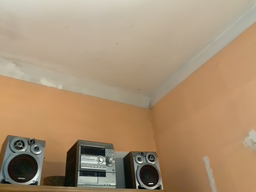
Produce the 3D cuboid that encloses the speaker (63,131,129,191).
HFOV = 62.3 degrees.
[{"bbox_3d":[-0.240,0.490,1.520,0.320,0.320,0.370,15,-38,-29],"label":"speaker"}]

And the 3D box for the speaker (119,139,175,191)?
[{"bbox_3d":[0.140,0.590,1.770,0.280,0.330,0.340,14,-37,-28],"label":"speaker"}]

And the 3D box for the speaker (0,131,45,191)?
[{"bbox_3d":[-0.650,0.410,1.290,0.220,0.320,0.210,10,-36,-31],"label":"speaker"}]
